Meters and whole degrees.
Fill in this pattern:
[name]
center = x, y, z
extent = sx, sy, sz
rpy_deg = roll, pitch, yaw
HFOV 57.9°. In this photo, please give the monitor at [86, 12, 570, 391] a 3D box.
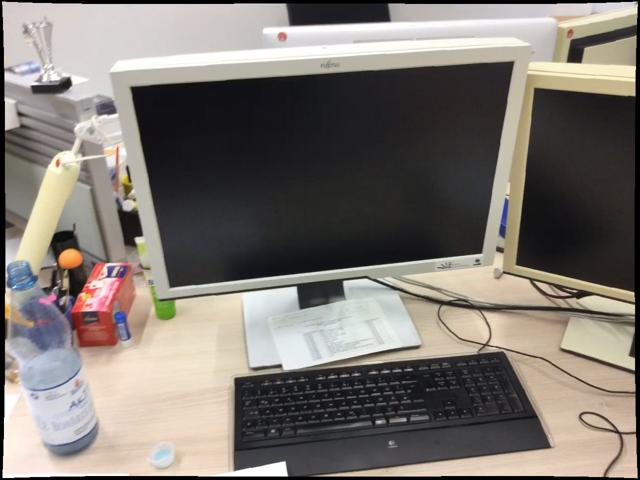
[monitor]
center = 0.020, -0.060, 0.950
extent = 0.609, 0.510, 0.230
rpy_deg = -6, 31, -4
